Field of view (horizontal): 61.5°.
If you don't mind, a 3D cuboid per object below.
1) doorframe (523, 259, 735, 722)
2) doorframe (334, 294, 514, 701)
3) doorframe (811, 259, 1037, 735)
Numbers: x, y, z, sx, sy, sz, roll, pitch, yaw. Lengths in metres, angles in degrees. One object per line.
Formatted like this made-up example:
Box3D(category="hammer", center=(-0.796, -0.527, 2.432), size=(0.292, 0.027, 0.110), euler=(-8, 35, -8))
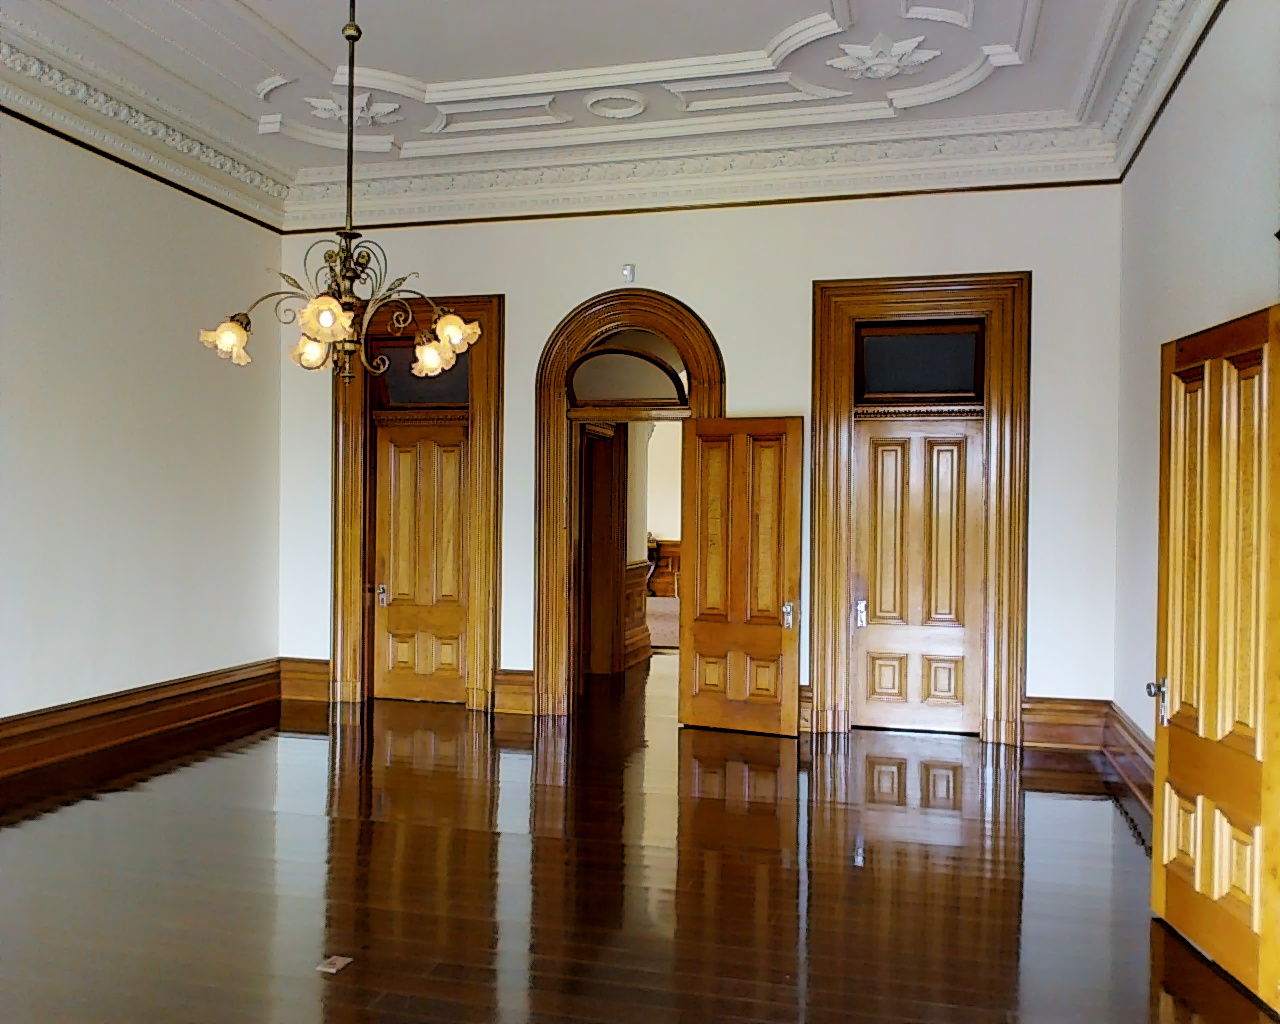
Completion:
Box3D(category="doorframe", center=(-0.080, -0.160, 8.020), size=(1.470, 3.270, 0.480), euler=(1, 0, 15))
Box3D(category="doorframe", center=(-1.760, -0.120, 8.750), size=(1.400, 3.190, 0.330), euler=(1, 0, 15))
Box3D(category="doorframe", center=(2.020, -0.110, 7.720), size=(1.510, 3.270, 0.310), euler=(1, 0, 15))
